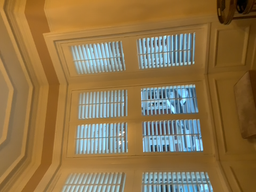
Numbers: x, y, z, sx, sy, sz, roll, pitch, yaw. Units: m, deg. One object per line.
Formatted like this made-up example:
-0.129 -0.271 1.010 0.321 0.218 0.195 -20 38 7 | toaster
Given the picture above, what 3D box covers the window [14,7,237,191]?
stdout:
-0.050 0.200 2.460 0.760 1.990 2.070 63 -155 -71 | window
